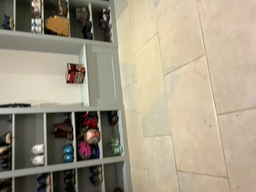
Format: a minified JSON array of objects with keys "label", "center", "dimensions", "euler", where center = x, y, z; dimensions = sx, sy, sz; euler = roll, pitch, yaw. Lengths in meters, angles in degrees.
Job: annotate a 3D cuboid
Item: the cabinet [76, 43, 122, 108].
[{"label":"cabinet","center":[-0.390,-0.250,2.760],"dimensions":[0.350,0.460,0.740],"euler":[-26,67,61]}]
